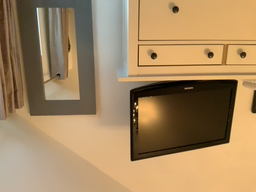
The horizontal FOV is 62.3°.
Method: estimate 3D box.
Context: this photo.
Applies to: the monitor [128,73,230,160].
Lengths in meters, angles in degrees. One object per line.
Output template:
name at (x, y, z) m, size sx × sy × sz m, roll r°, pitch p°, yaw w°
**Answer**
monitor at (0.360, 0.130, 1.470) m, size 0.740 × 0.550 × 0.030 m, roll -5°, pitch -163°, yaw -17°
